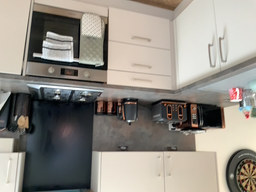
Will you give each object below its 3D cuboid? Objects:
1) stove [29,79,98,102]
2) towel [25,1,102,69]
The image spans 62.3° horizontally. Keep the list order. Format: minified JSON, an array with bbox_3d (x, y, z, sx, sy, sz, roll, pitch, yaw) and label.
[{"bbox_3d":[-0.580,-0.030,1.910,0.520,0.060,0.490,4,167,-19],"label":"stove"},{"bbox_3d":[-0.480,-0.460,1.650,0.530,0.410,0.130,5,166,-21],"label":"towel"}]
